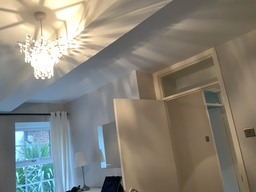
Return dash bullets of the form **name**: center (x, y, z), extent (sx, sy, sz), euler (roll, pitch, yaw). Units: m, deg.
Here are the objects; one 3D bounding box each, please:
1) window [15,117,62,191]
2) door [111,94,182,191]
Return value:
- **window**: center (-1.580, 1.170, 3.750), extent (0.700, 1.550, 0.120), euler (0, -15, -34)
- **door**: center (0.280, 0.880, 2.370), extent (0.860, 1.810, 0.070), euler (3, -17, -43)
